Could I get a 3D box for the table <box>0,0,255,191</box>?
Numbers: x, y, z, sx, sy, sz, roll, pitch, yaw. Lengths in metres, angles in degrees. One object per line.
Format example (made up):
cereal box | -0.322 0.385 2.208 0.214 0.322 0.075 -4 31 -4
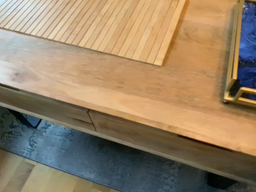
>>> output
table | 0.000 -0.100 0.860 1.220 0.480 0.630 15 59 11
